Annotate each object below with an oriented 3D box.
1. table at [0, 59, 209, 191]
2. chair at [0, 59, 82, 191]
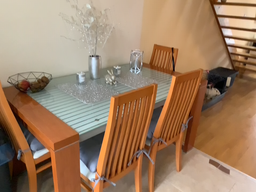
[{"bbox_3d":[-0.130,0.230,1.870,1.530,0.760,0.880,-19,32,-41],"label":"table"},{"bbox_3d":[-0.690,0.260,1.540,0.490,0.910,0.450,19,28,33],"label":"chair"}]
